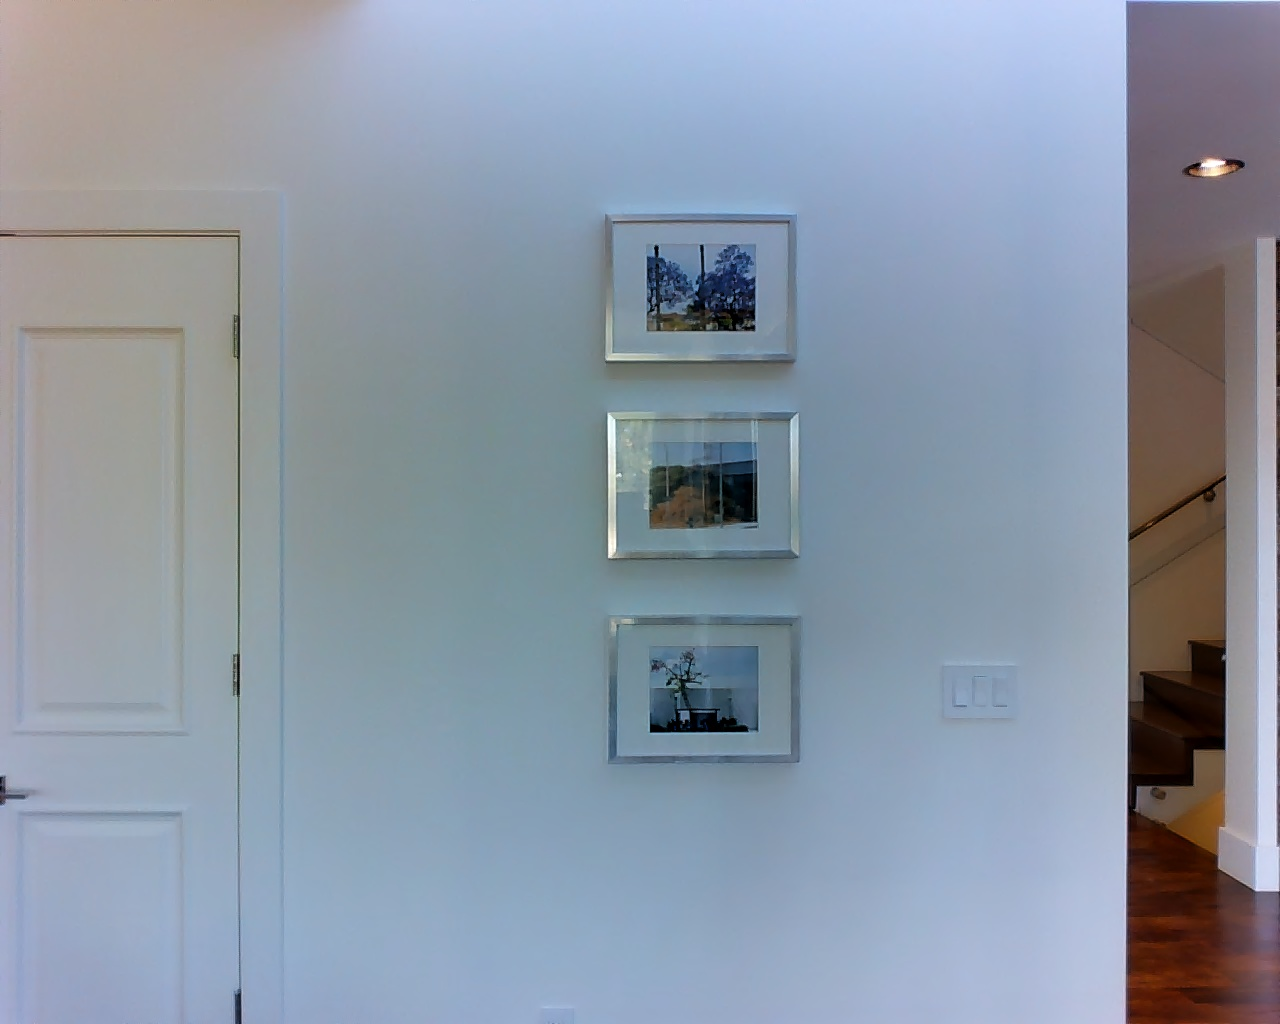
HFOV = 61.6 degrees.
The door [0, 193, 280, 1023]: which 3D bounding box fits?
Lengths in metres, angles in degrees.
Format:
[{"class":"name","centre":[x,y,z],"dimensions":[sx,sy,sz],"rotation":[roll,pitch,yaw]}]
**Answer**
[{"class":"door","centre":[-1.470,0.420,2.350],"dimensions":[1.320,2.230,0.050],"rotation":[0,-1,-2]}]

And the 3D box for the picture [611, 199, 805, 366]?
[{"class":"picture","centre":[0.150,-0.510,2.390],"dimensions":[0.430,0.360,0.040],"rotation":[0,-1,-2]}]

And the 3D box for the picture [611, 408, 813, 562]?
[{"class":"picture","centre":[0.160,-0.060,2.400],"dimensions":[0.450,0.340,0.040],"rotation":[0,-1,-2]}]
